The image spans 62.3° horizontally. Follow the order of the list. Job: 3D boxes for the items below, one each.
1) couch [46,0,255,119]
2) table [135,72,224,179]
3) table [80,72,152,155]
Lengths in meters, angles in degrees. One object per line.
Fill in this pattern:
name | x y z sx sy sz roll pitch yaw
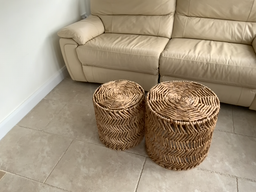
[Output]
couch | 0.450 -0.640 2.140 2.060 0.950 1.030 11 40 17
table | 0.350 0.180 1.480 0.480 0.460 0.470 9 39 15
table | -0.060 0.120 1.630 0.400 0.400 0.410 9 39 15
